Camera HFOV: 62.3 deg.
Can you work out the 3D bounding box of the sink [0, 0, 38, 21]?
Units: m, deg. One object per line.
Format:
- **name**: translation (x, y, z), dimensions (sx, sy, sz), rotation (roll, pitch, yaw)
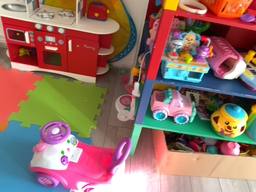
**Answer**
- **sink**: translation (-0.900, -0.710, 1.730), dimensions (0.250, 0.080, 0.170), rotation (11, 40, -2)
